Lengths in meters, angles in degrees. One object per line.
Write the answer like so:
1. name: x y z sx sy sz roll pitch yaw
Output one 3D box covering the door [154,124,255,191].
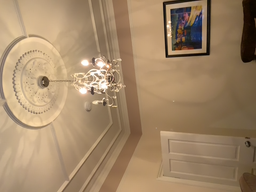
1. door: 1.400 0.940 2.920 0.150 2.050 0.990 -47 -45 -62
